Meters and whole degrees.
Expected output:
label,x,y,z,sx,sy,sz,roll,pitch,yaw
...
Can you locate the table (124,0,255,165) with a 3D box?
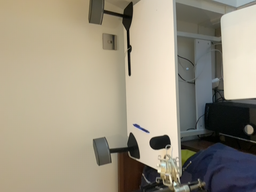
label,x,y,z,sx,sy,sz,roll,pitch,yaw
table,0.420,-0.130,1.230,0.410,0.770,0.810,1,92,61
